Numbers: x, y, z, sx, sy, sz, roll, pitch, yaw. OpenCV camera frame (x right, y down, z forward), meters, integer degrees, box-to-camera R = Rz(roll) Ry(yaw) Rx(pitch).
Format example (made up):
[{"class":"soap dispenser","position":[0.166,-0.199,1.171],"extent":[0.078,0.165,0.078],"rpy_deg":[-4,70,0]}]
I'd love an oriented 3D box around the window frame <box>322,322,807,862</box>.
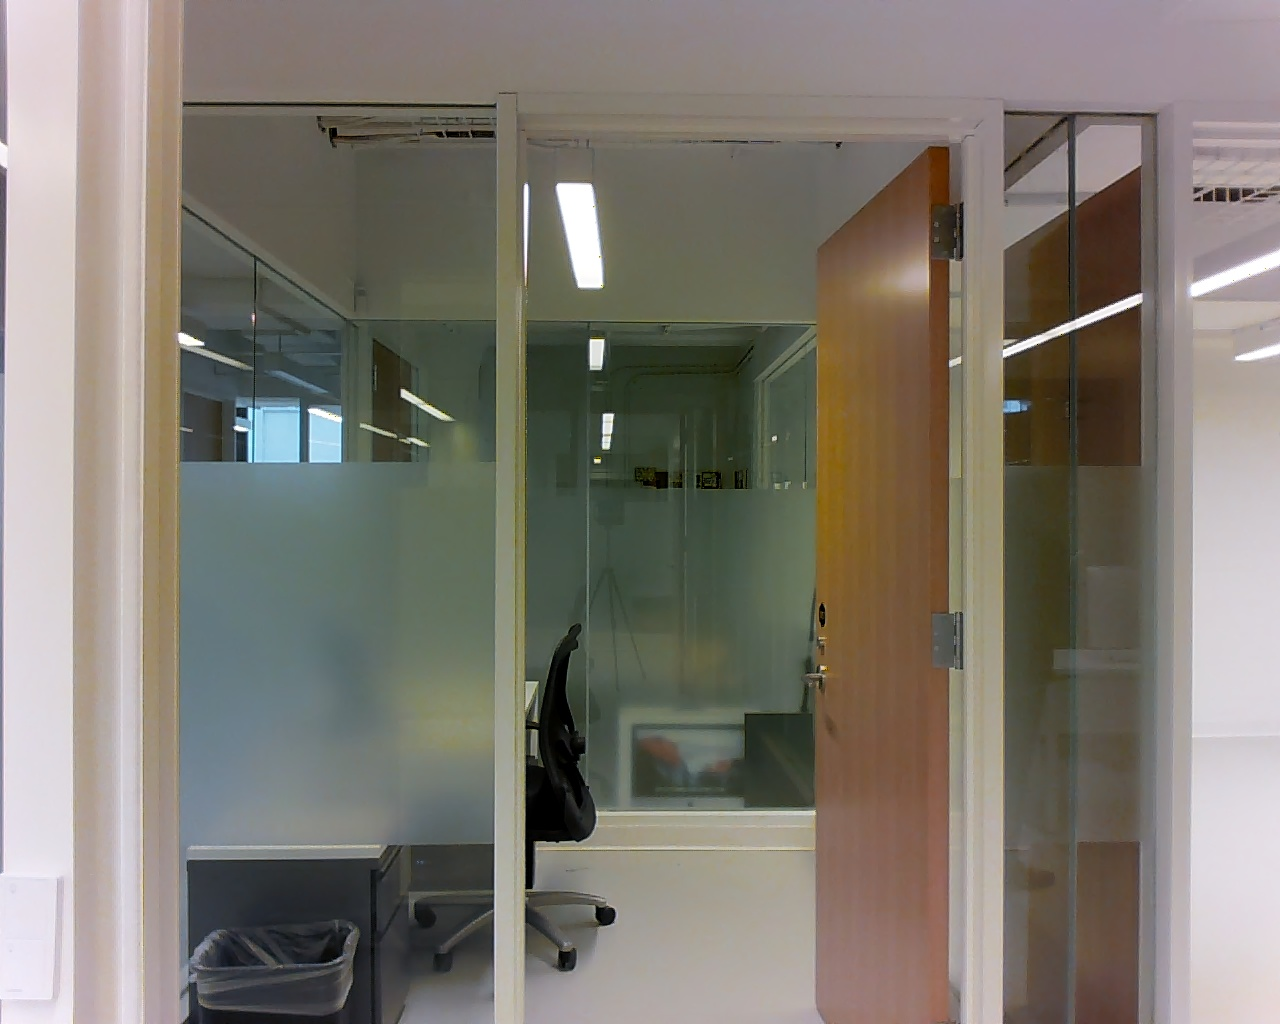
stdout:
[{"class":"window frame","position":[-0.310,0.340,4.580],"extent":[2.030,2.261,0.100],"rpy_deg":[0,0,-2]}]
